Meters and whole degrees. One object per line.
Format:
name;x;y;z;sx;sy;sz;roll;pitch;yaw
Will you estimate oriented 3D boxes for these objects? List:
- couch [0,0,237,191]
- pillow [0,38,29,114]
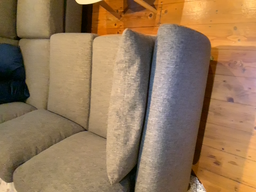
couch;-0.190;0.130;1.260;1.170;0.910;1.050;13;100;38
pillow;-1.080;-0.180;1.820;0.170;0.350;0.620;-37;51;49
